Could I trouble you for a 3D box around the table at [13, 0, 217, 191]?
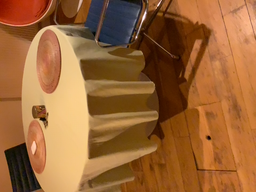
[{"bbox_3d":[-0.250,0.090,1.580,1.060,0.750,1.070,-55,53,35],"label":"table"}]
